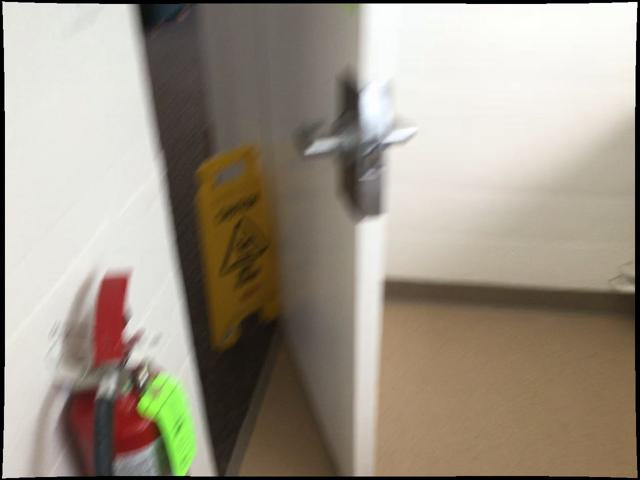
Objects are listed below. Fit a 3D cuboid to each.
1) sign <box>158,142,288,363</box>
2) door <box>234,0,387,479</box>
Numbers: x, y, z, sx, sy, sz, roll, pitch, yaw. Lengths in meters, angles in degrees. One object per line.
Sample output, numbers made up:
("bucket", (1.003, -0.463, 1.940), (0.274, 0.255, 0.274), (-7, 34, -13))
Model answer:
("sign", (-0.289, 0.050, 1.910), (0.279, 0.681, 0.290), (1, 33, 6))
("door", (-0.040, -0.100, 1.370), (0.120, 1.463, 0.680), (-11, 34, -13))
